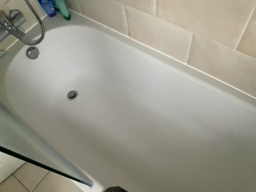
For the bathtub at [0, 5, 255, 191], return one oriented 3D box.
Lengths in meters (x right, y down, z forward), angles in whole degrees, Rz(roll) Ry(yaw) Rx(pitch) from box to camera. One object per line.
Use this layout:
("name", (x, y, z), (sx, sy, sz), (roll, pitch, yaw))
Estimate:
("bathtub", (0.060, 0.240, 1.110), (1.700, 0.540, 0.700), (31, 69, 21))
